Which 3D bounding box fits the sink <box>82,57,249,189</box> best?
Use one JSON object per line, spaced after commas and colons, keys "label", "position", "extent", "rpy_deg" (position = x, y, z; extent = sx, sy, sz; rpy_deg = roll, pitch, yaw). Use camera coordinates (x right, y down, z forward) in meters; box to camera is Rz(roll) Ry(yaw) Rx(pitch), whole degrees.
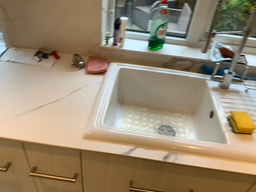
{"label": "sink", "position": [0.140, 0.080, 1.000], "extent": [0.570, 0.220, 0.550], "rpy_deg": [8, 38, 1]}
